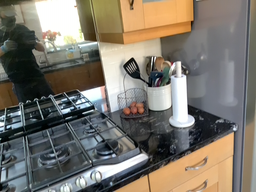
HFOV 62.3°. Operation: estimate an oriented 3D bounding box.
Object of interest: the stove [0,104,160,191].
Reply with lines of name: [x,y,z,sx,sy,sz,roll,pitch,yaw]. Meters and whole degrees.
stove: [-0.330,0.250,0.950,0.730,0.050,0.590,-17,23,-25]
